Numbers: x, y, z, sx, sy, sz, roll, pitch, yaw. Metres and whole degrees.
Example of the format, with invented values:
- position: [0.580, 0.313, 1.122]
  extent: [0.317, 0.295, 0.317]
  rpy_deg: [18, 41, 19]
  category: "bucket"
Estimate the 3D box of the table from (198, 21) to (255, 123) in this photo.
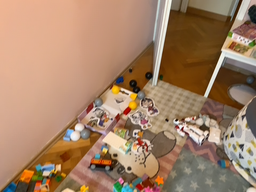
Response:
- position: [1.010, -0.230, 1.830]
  extent: [0.500, 0.490, 0.610]
  rpy_deg: [25, 48, 20]
  category: "table"
